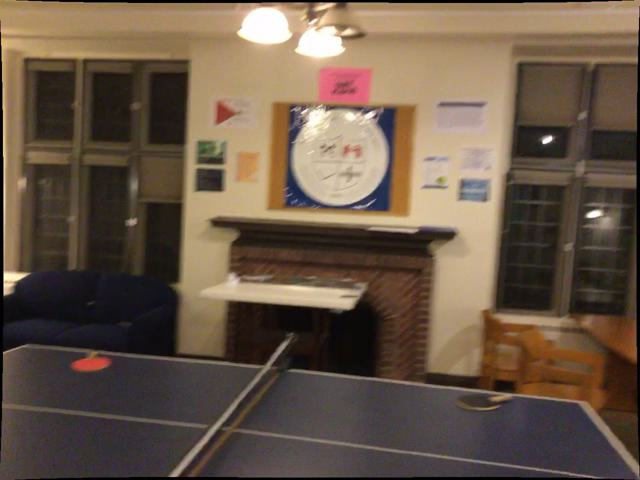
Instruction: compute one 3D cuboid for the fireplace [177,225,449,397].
[{"bbox_3d":[-0.060,0.550,5.030,2.248,1.291,0.650,2,4,10],"label":"fireplace"}]
